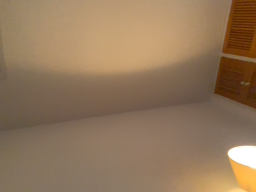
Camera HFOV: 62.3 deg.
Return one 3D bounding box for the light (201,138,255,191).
[{"bbox_3d":[0.590,0.430,1.090,0.230,0.260,0.310,-2,-71,-33],"label":"light"}]
